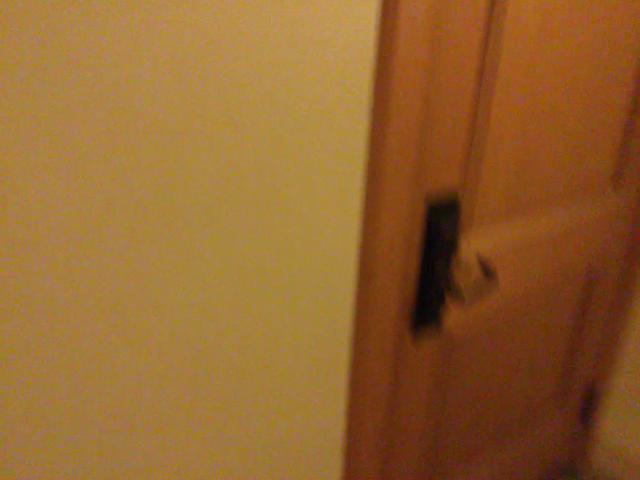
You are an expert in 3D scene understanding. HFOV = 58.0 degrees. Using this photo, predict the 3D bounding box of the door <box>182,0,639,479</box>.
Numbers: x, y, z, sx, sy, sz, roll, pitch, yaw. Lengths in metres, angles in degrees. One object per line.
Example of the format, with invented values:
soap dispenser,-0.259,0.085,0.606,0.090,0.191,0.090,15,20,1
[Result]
door,0.450,-0.140,1.100,1.390,2.270,0.120,-5,22,-37
